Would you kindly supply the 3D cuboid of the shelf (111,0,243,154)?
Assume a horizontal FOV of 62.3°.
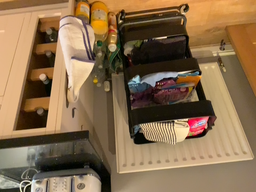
[{"bbox_3d":[0.210,-0.140,1.320,0.540,0.830,0.400,-7,149,0],"label":"shelf"}]
